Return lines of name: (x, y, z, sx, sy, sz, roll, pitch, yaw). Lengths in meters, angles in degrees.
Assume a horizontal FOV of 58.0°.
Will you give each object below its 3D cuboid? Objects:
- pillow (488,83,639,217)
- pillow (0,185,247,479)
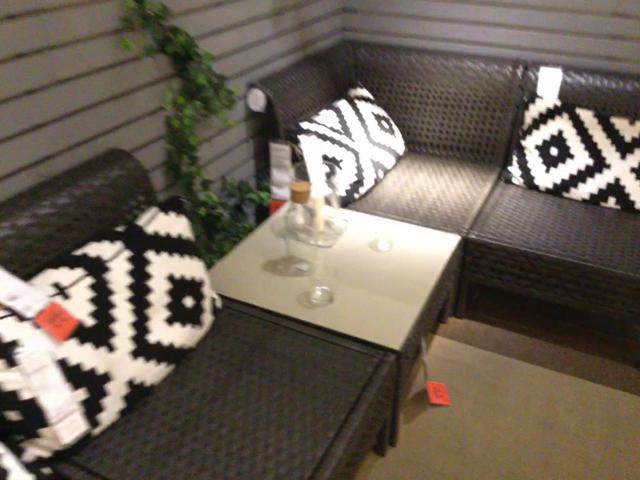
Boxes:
pillow: (1.010, -0.330, 2.060, 0.700, 0.340, 0.340, 12, 31, 27)
pillow: (-0.460, 0.160, 1.290, 0.220, 0.330, 0.650, 12, 31, 27)
